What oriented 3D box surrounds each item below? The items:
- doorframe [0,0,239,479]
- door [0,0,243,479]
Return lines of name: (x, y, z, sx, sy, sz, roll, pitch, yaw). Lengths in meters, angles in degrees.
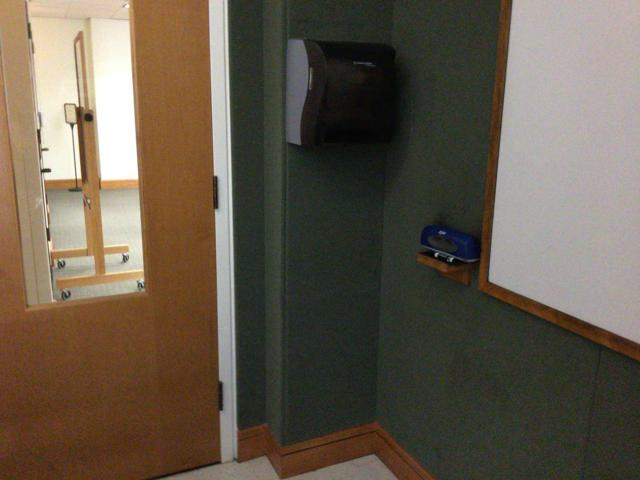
doorframe: (-0.790, -0.010, 1.950, 1.020, 1.990, 0.050, -6, 15, -26)
door: (-0.820, -0.040, 2.000, 1.060, 2.000, 0.180, -6, 15, -26)
